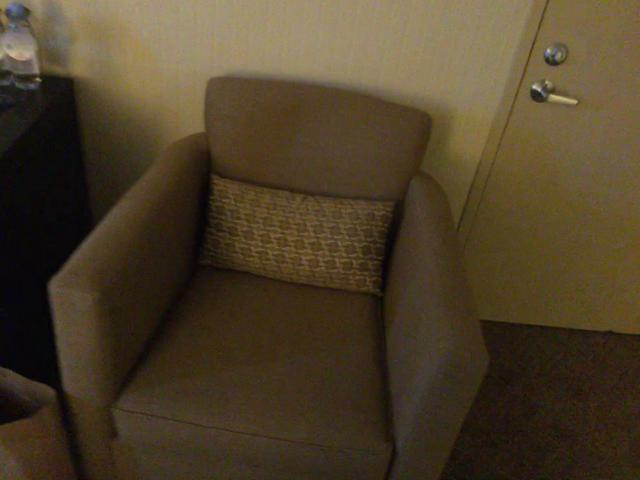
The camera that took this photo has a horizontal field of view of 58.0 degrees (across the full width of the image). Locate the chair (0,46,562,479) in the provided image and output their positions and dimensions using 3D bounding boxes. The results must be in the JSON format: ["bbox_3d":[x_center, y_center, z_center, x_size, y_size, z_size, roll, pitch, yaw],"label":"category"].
[{"bbox_3d":[-0.100,0.130,1.490,0.880,0.830,0.940,11,34,-2],"label":"chair"}]

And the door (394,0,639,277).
[{"bbox_3d":[0.920,-0.360,1.730,1.160,0.970,0.230,6,34,-9],"label":"door"}]
